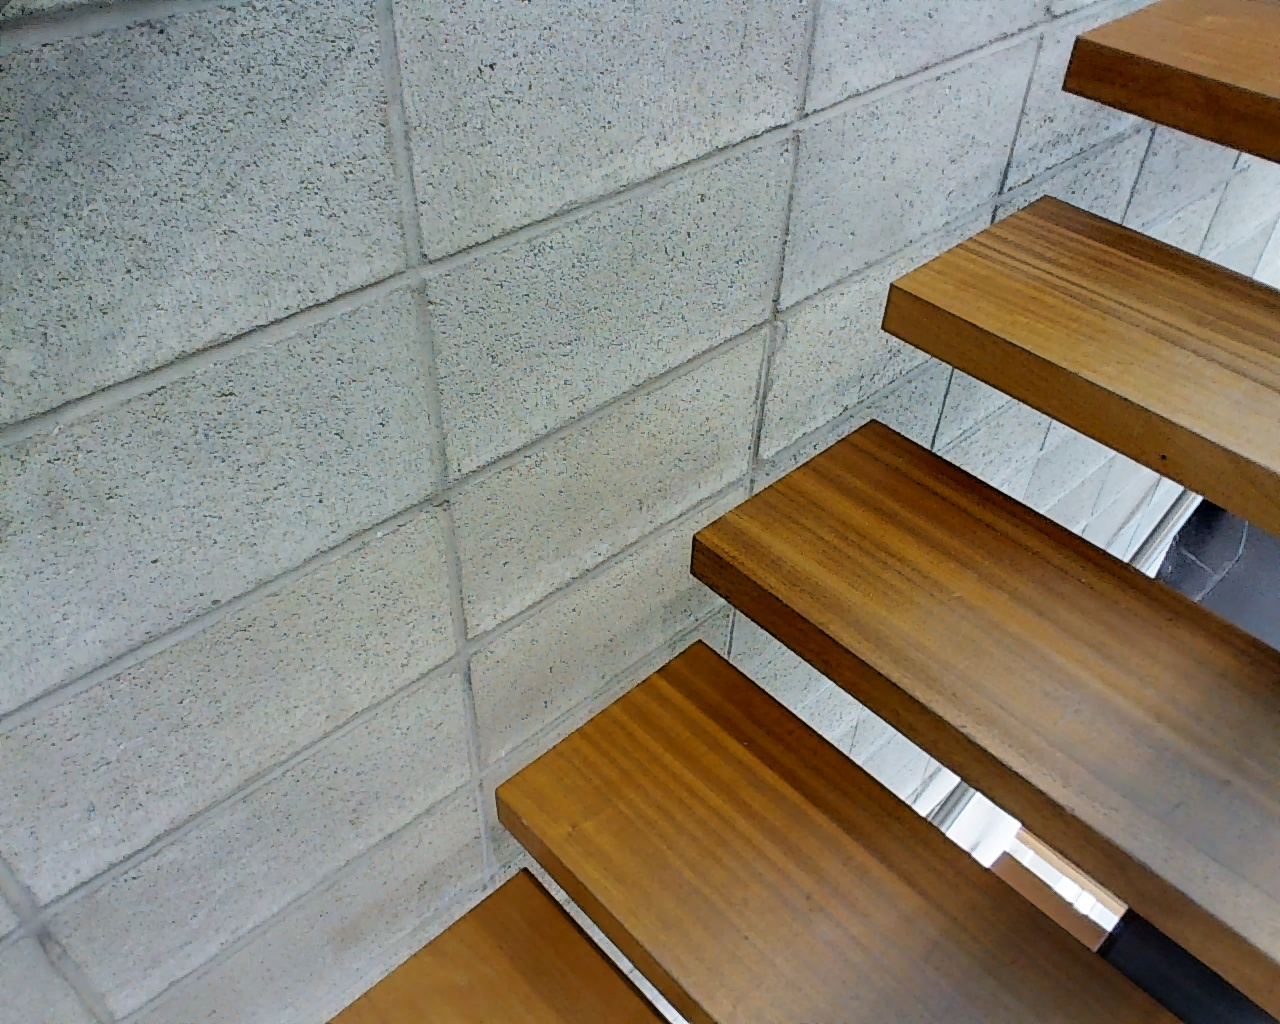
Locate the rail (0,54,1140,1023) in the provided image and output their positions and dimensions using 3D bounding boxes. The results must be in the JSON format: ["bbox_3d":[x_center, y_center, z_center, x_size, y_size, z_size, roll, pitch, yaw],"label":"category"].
[{"bbox_3d":[-0.340,0.140,0.700,0.130,0.740,3.690,37,17,33],"label":"rail"}]
